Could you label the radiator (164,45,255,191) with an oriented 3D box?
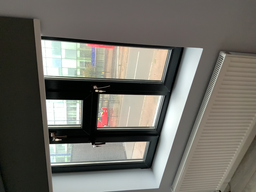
[{"bbox_3d":[0.760,0.370,1.760,0.100,0.610,1.540,-109,25,-57],"label":"radiator"}]
